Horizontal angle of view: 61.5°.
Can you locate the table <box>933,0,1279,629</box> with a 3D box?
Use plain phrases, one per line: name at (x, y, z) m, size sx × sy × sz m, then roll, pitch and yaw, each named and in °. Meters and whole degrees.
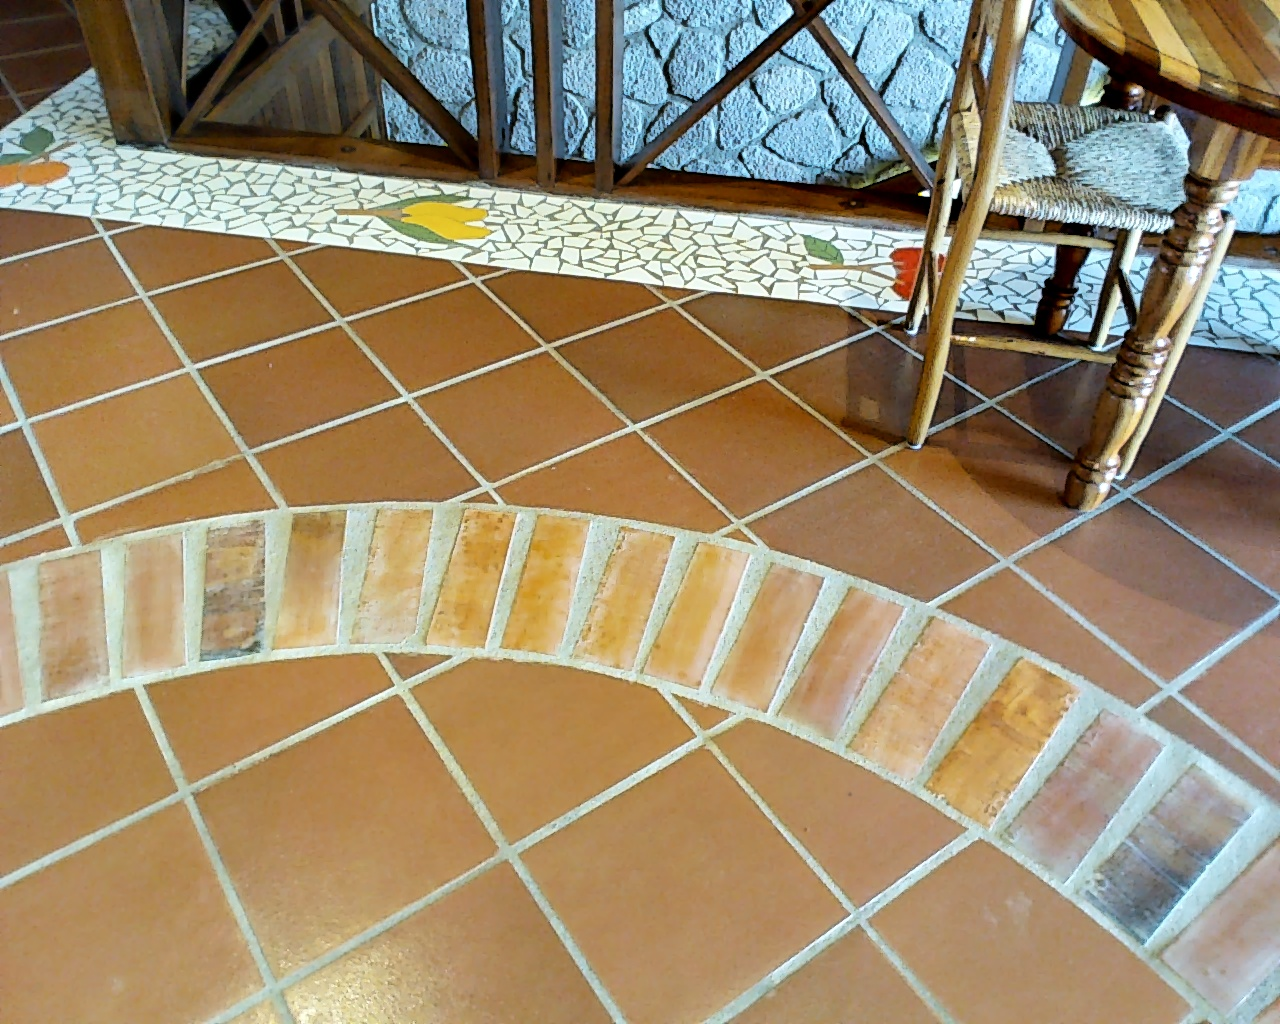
table at (1.150, -0.430, 1.820) m, size 1.120 × 0.760 × 1.030 m, roll 8°, pitch 43°, yaw 7°
